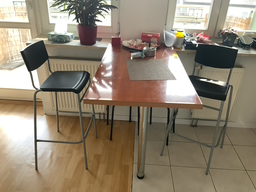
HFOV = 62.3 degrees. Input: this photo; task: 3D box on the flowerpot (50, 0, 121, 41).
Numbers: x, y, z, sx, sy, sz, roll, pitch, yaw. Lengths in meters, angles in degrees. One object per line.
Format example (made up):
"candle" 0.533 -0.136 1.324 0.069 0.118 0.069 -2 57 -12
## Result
"flowerpot" -0.390 -0.860 2.150 0.610 0.460 0.470 2 29 -1
